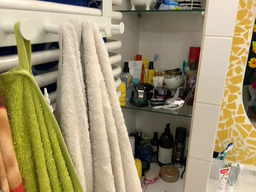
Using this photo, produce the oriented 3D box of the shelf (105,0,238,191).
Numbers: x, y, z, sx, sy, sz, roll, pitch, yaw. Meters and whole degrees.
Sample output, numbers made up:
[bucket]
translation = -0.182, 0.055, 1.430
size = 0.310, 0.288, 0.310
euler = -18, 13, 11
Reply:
[shelf]
translation = 0.160, -0.170, 0.810
size = 0.370, 1.130, 0.370
euler = 8, 20, 18
